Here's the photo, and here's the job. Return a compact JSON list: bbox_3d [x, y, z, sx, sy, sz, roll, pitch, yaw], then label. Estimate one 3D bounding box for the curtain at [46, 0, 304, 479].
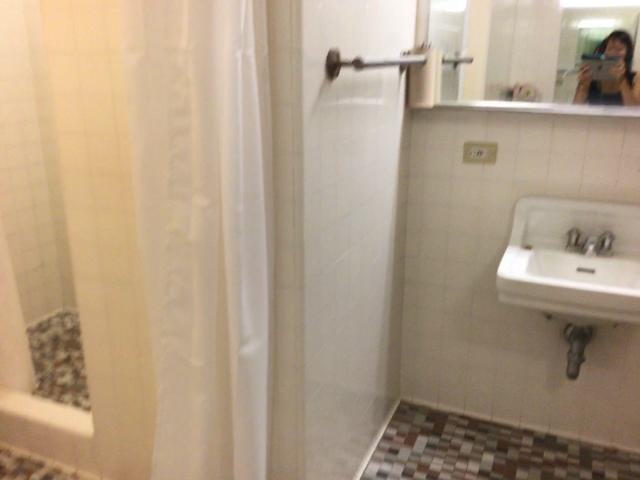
[{"bbox_3d":[-0.260,0.160,1.290,0.290,1.630,0.380,6,17,23],"label":"curtain"}]
